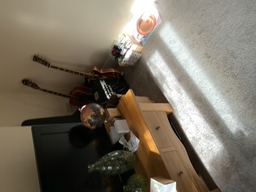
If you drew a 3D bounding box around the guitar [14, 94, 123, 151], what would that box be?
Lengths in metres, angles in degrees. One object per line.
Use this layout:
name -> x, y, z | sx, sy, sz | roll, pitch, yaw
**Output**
guitar -> -0.630, 0.270, 2.340 | 0.360, 1.040, 0.400 | -54, 49, 37
